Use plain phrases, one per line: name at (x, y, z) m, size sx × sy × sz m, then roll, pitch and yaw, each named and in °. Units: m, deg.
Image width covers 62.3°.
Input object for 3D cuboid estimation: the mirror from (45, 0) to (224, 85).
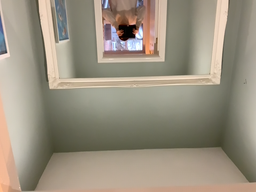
mirror at (0.060, -0.620, 1.600) m, size 1.320 × 1.070 × 0.030 m, roll -2°, pitch -160°, yaw -2°
